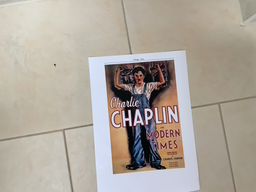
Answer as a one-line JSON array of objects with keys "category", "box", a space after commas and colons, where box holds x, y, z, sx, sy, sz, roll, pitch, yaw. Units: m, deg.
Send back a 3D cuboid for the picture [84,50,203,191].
[{"category": "picture", "box": [0.030, 0.060, 0.440, 0.210, 0.030, 0.290, -6, 87, -3]}]
